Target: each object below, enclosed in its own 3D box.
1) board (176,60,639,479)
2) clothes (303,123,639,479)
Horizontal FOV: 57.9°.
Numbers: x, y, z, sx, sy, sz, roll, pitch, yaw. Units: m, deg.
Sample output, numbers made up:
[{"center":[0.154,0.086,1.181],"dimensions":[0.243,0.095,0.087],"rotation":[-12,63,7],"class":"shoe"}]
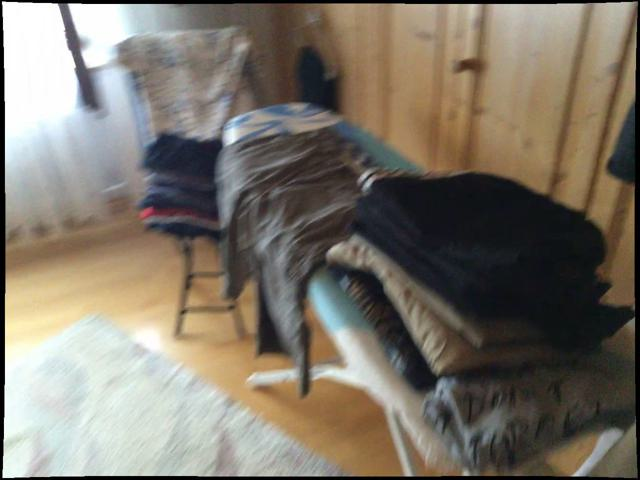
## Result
[{"center":[0.130,0.270,1.330],"dimensions":[0.480,0.901,1.430],"rotation":[-15,37,-17],"class":"board"},{"center":[0.250,0.050,0.830],"dimensions":[0.390,0.200,0.480],"rotation":[-15,37,-17],"class":"clothes"}]
